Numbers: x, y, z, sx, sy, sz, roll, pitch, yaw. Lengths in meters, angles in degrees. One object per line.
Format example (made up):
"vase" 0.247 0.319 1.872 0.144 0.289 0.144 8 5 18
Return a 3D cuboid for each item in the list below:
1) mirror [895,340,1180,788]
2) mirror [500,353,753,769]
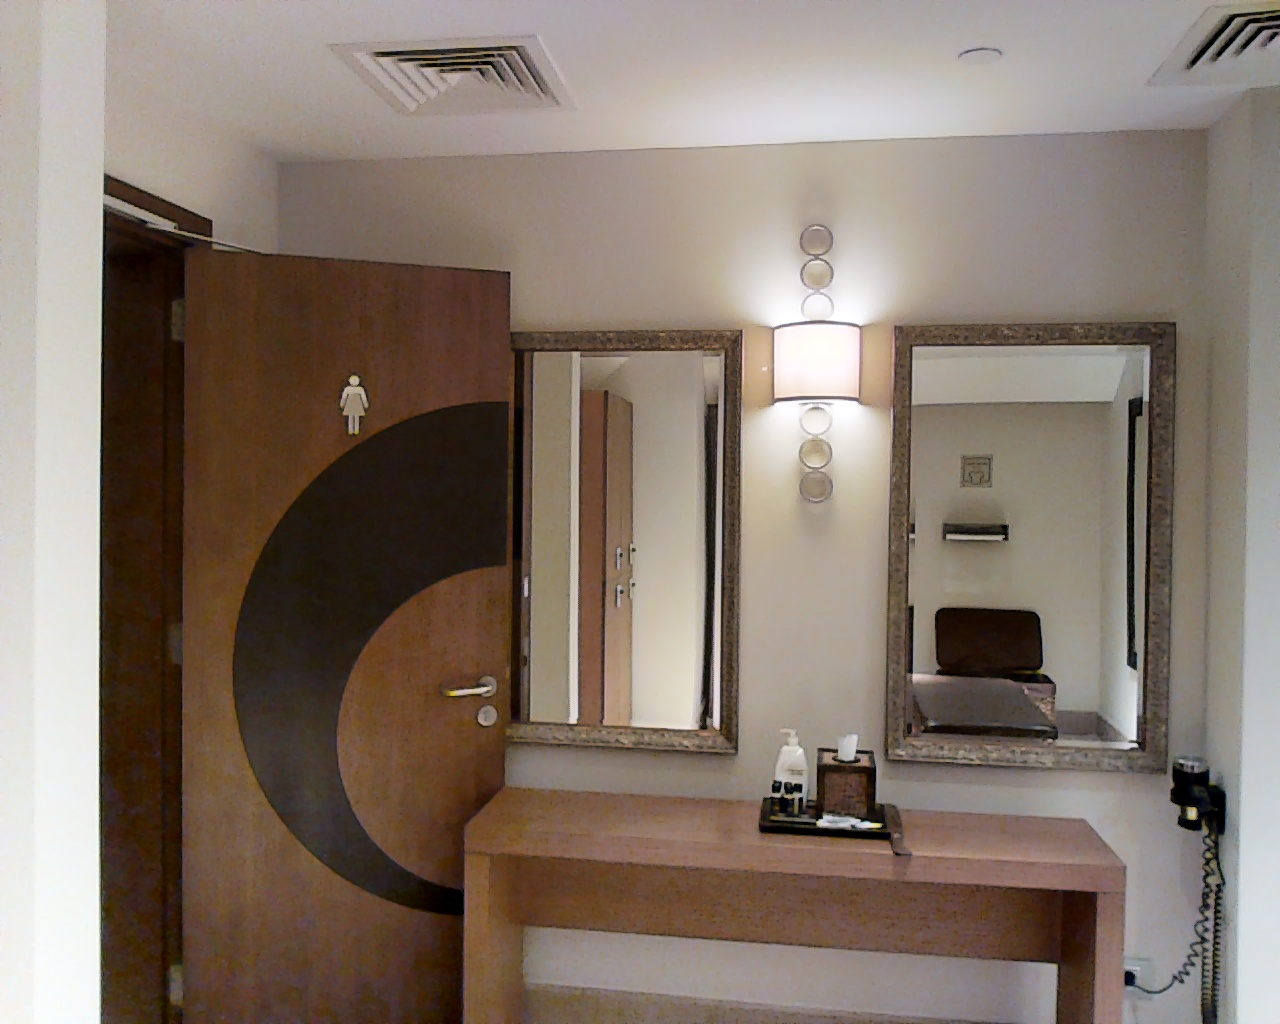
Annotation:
"mirror" 1.030 0.130 2.820 0.690 1.140 0.060 0 0 9
"mirror" -0.040 0.130 2.990 0.690 1.120 0.080 0 0 9
